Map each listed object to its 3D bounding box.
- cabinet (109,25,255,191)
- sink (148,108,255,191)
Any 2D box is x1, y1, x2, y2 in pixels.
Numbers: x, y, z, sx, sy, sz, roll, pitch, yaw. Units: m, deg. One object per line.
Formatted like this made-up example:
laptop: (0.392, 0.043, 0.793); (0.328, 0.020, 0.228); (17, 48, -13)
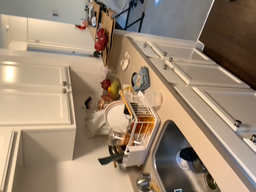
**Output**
cabinet: (0.530, 0.160, 1.660); (1.860, 0.910, 0.700); (-114, 32, -50)
sink: (0.380, 0.410, 1.120); (0.590, 0.260, 0.410); (-114, 32, -50)
